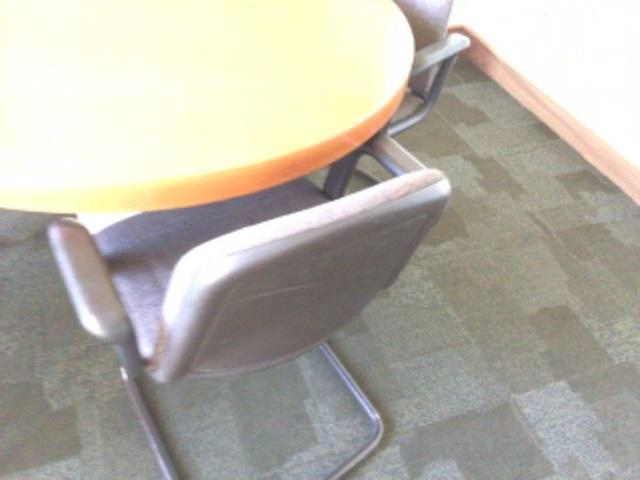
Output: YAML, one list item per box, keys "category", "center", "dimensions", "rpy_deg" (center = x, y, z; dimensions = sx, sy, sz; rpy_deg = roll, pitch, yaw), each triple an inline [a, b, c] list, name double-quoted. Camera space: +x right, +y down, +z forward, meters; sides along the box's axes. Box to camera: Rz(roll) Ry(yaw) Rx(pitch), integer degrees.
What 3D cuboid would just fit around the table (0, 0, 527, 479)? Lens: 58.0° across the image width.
- category: "table"
  center: [-0.420, -0.210, 1.510]
  dimensions: [1.190, 0.750, 1.200]
  rpy_deg: [-11, 46, -17]
